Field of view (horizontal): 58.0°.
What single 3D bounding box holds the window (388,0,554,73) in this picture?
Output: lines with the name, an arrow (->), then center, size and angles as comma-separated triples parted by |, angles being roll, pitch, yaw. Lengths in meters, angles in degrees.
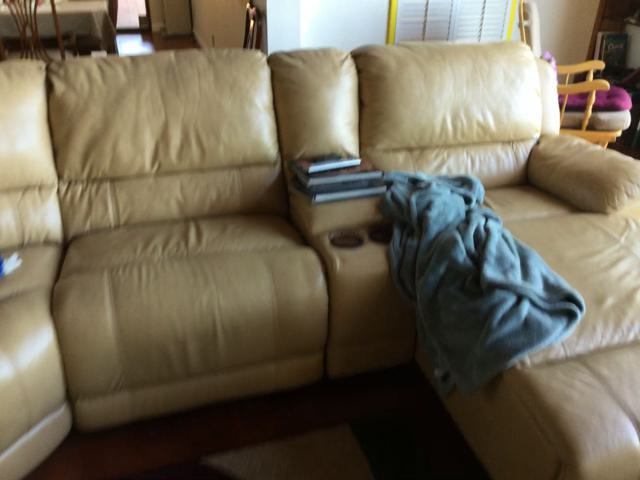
window -> 1.000, -1.960, 3.610 | 1.060, 1.690, 0.250 | -8, 27, -15
